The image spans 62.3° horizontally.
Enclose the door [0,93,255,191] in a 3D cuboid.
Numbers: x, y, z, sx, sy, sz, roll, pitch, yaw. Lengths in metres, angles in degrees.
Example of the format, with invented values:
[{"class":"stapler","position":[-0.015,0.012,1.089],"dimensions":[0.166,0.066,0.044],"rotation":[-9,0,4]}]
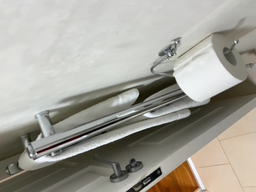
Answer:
[{"class":"door","position":[-0.120,0.250,0.840],"dimensions":[0.670,1.860,0.020],"rotation":[-14,93,50]}]

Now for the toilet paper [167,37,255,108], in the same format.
[{"class":"toilet paper","position":[0.210,-0.060,0.520],"dimensions":[0.120,0.160,0.110],"rotation":[-31,80,49]}]
